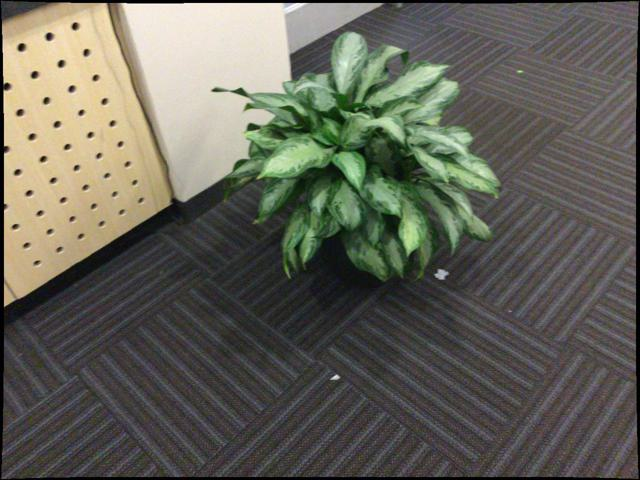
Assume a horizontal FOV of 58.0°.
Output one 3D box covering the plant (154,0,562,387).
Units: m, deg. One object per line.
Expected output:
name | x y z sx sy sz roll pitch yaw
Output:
plant | 0.100 -0.190 1.660 0.660 0.621 0.780 -37 52 -26
